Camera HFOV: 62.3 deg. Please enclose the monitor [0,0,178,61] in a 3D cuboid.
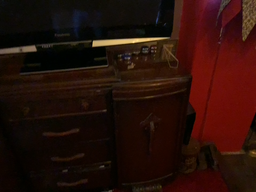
[{"bbox_3d":[-0.360,-0.590,1.020,1.270,0.830,0.080,-4,31,-9],"label":"monitor"}]
